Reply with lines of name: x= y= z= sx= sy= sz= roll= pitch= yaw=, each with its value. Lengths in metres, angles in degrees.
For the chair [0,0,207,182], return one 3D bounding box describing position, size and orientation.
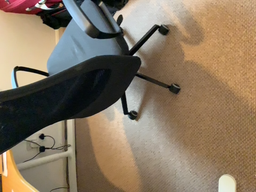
chair: x=-0.340 y=-0.150 z=0.960 sx=0.640 sy=1.250 sz=0.720 roll=-44 pitch=65 yaw=33
